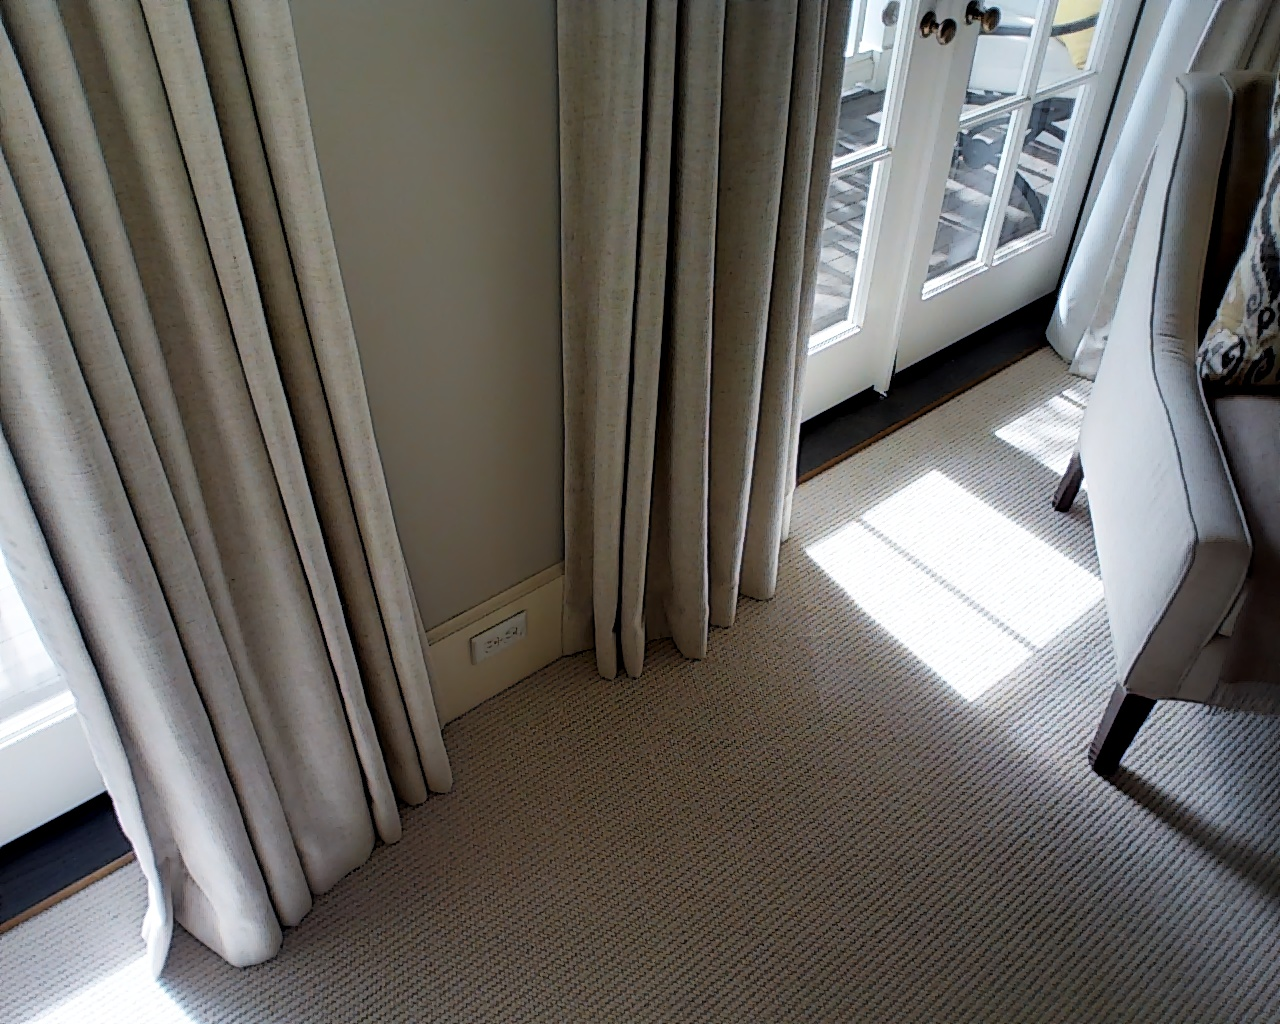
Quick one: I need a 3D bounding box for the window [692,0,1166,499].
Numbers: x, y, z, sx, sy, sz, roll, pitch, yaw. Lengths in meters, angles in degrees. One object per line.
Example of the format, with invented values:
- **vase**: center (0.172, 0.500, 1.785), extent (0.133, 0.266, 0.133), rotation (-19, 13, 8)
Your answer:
- **window**: center (0.680, -1.090, 2.060), extent (1.350, 2.040, 0.080), rotation (-28, 49, -29)
